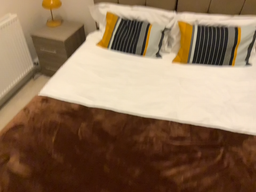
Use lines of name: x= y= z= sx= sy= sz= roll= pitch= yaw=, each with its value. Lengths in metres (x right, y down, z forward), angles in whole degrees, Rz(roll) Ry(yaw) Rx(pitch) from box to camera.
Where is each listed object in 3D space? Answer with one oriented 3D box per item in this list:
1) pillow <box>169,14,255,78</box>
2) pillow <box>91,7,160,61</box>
pillow: x=0.700 y=-0.400 z=1.720 sx=0.650 sy=0.310 sz=0.150 roll=18 pitch=14 yaw=2
pillow: x=-0.030 y=-0.550 z=1.880 sx=0.540 sy=0.300 sz=0.110 roll=22 pitch=9 yaw=15
